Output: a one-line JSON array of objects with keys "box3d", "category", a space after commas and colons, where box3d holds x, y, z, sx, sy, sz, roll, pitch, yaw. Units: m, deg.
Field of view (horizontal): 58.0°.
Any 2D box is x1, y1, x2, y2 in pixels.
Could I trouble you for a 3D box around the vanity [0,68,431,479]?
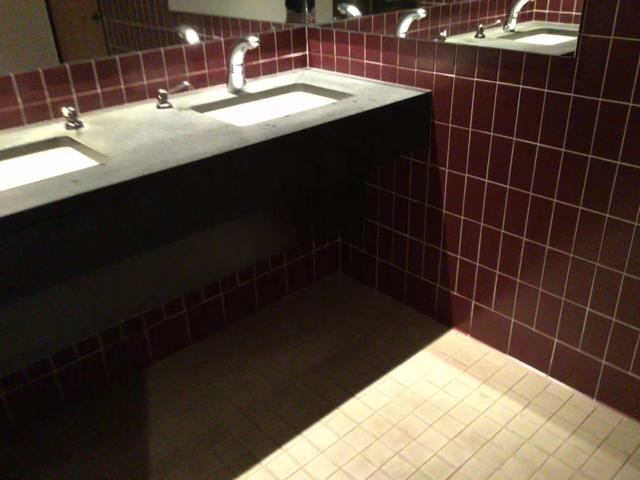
[{"box3d": [-0.450, -0.010, 1.720, 1.660, 0.710, 0.600, -22, 32, -36], "category": "vanity"}]
